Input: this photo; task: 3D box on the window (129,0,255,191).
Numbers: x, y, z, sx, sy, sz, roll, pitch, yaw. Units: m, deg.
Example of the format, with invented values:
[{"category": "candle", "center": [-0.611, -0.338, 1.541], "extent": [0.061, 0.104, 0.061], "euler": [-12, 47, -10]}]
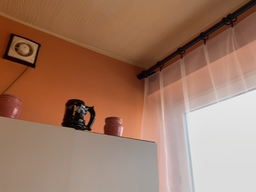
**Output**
[{"category": "window", "center": [0.530, 0.480, 0.680], "extent": [0.150, 1.870, 1.650], "euler": [16, -29, -30]}]
